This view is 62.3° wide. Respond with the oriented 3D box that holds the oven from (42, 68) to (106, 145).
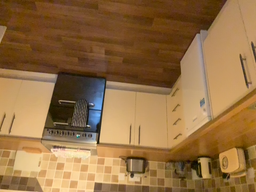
[{"bbox_3d":[-0.650,0.170,2.820,0.620,0.770,0.660,6,154,-4],"label":"oven"}]
